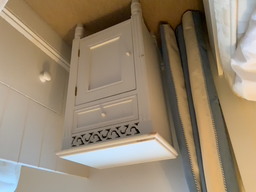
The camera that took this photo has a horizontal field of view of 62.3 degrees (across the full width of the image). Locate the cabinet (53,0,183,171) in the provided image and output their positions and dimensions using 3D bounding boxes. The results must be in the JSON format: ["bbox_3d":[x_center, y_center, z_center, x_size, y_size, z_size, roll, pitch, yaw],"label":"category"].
[{"bbox_3d":[-0.030,-0.050,1.030,0.390,0.700,0.400,-15,150,20],"label":"cabinet"}]
